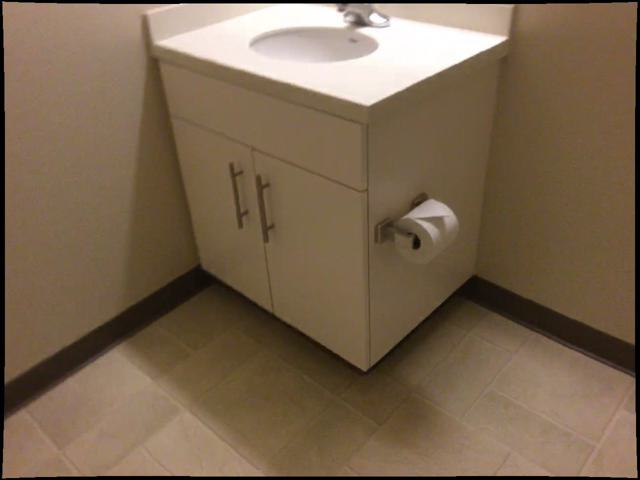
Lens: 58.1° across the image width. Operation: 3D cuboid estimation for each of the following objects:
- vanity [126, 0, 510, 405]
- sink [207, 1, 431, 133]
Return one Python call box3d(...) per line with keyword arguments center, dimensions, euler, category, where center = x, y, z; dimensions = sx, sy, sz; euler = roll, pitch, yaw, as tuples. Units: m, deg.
box3d(center=(0.010, -0.201, 1.750), dimensions=(0.809, 0.962, 0.580), euler=(23, 43, 35), category="vanity")
box3d(center=(0.010, -0.501, 1.590), dimensions=(0.390, 0.170, 0.470), euler=(23, 43, 35), category="sink")
